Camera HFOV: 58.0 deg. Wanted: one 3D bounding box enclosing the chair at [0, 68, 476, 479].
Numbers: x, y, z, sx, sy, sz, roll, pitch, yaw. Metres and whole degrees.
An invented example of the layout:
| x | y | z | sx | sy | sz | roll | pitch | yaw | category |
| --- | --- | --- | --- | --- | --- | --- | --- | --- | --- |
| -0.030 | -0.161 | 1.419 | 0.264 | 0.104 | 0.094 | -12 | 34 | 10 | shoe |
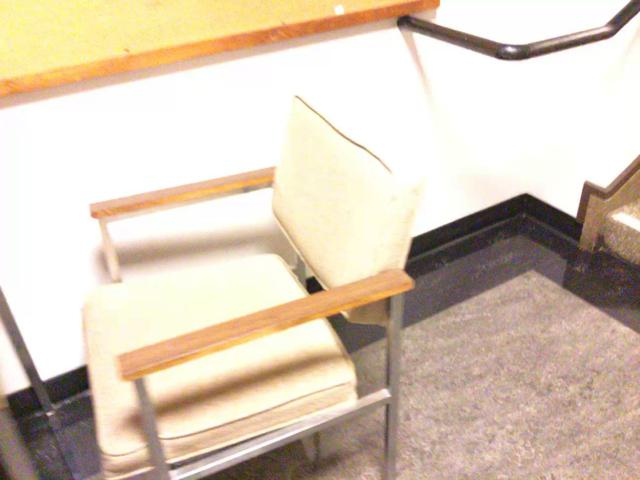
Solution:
| x | y | z | sx | sy | sz | roll | pitch | yaw | category |
| --- | --- | --- | --- | --- | --- | --- | --- | --- | --- |
| -0.210 | 0.180 | 1.310 | 0.690 | 0.890 | 0.670 | -18 | 36 | -29 | chair |
